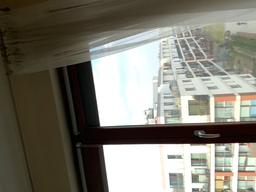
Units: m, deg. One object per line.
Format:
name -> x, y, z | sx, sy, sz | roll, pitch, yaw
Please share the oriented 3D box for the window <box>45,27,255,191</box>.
window -> 0.450, 0.360, 1.310 | 0.210, 1.700, 1.440 | -56, -38, -74
